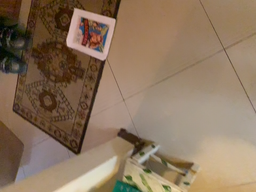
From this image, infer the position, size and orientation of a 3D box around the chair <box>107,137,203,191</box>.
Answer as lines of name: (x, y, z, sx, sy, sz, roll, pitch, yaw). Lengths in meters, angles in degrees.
chair: (0.110, 0.360, 0.870, 0.270, 0.240, 0.230, 27, 107, 25)
